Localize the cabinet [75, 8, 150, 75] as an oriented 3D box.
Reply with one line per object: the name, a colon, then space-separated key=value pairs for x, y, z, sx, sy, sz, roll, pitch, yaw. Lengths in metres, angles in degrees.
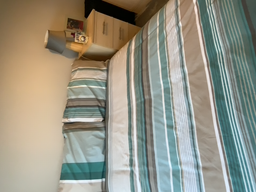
cabinet: x=-0.190 y=-0.630 z=2.640 sx=0.520 sy=0.760 sz=0.440 roll=-26 pitch=60 yaw=56

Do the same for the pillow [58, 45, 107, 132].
pillow: x=-0.440 y=-0.060 z=2.210 sx=0.180 sy=0.470 sz=0.780 roll=-15 pitch=65 yaw=30
